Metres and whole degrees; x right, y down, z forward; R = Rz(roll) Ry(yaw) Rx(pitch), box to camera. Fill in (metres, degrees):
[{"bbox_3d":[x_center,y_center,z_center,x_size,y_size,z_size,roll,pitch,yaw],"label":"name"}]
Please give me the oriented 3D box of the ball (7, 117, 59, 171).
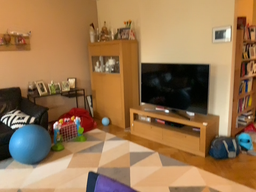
[{"bbox_3d":[-1.320,0.630,2.930,0.540,0.460,0.510,-9,14,-31],"label":"ball"}]
